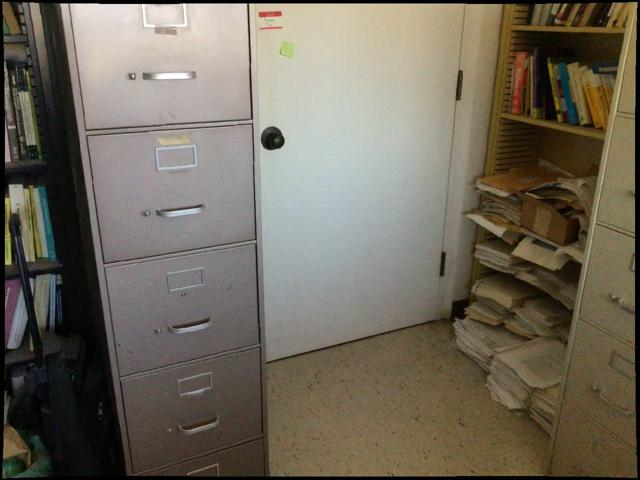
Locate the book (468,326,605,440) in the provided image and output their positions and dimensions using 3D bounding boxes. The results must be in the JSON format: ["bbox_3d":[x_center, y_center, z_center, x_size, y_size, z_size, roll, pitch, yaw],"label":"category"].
[{"bbox_3d":[0.818,0.531,2.210,0.349,0.210,0.320,-10,23,-23],"label":"book"}]

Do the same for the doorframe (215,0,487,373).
[{"bbox_3d":[0.160,-0.501,2.290,1.098,2.035,0.090,-10,23,-23],"label":"doorframe"}]

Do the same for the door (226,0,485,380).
[{"bbox_3d":[0.170,-0.561,2.270,1.028,2.235,0.120,-10,23,-23],"label":"door"}]

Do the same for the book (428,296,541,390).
[{"bbox_3d":[0.698,0.431,2.500,0.230,0.170,0.440,-10,23,-23],"label":"book"}]

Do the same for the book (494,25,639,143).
[{"bbox_3d":[1.067,-0.592,2.100,0.279,0.361,0.900,-10,23,-23],"label":"book"}]
